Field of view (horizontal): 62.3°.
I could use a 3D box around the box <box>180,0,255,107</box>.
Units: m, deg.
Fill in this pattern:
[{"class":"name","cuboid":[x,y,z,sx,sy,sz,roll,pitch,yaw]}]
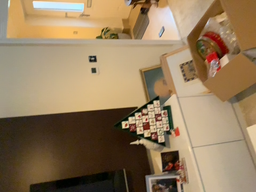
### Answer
[{"class":"box","cuboid":[0.790,-0.360,1.640,0.730,0.300,0.670,124,139,-63]}]
